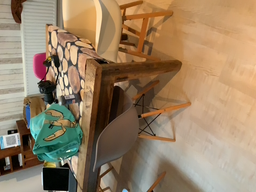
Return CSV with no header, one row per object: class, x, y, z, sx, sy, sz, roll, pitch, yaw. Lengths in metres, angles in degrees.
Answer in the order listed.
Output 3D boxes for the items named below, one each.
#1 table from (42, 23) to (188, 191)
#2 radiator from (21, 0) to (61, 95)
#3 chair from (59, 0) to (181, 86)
table,-0.290,0.350,2.080,0.960,0.760,1.810,40,130,43
radiator,-1.400,-0.790,3.490,0.100,0.540,1.620,38,128,44
chair,-0.110,-0.510,1.690,0.610,0.660,0.550,46,133,39
